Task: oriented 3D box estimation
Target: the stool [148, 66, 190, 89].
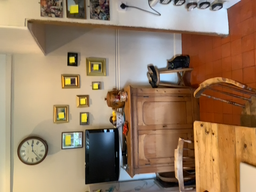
[{"bbox_3d":[0.590,-0.260,3.100,0.290,0.520,0.300,168,101,-75],"label":"stool"}]
